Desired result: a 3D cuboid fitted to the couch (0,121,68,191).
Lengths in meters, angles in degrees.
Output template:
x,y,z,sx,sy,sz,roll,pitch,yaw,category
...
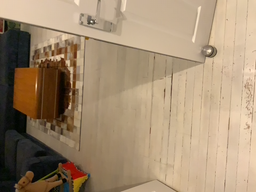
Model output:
x,y,z,sx,sy,sz,roll,pitch,yaw,category
-2.290,1.230,3.760,3.130,1.090,1.090,4,92,49,couch
